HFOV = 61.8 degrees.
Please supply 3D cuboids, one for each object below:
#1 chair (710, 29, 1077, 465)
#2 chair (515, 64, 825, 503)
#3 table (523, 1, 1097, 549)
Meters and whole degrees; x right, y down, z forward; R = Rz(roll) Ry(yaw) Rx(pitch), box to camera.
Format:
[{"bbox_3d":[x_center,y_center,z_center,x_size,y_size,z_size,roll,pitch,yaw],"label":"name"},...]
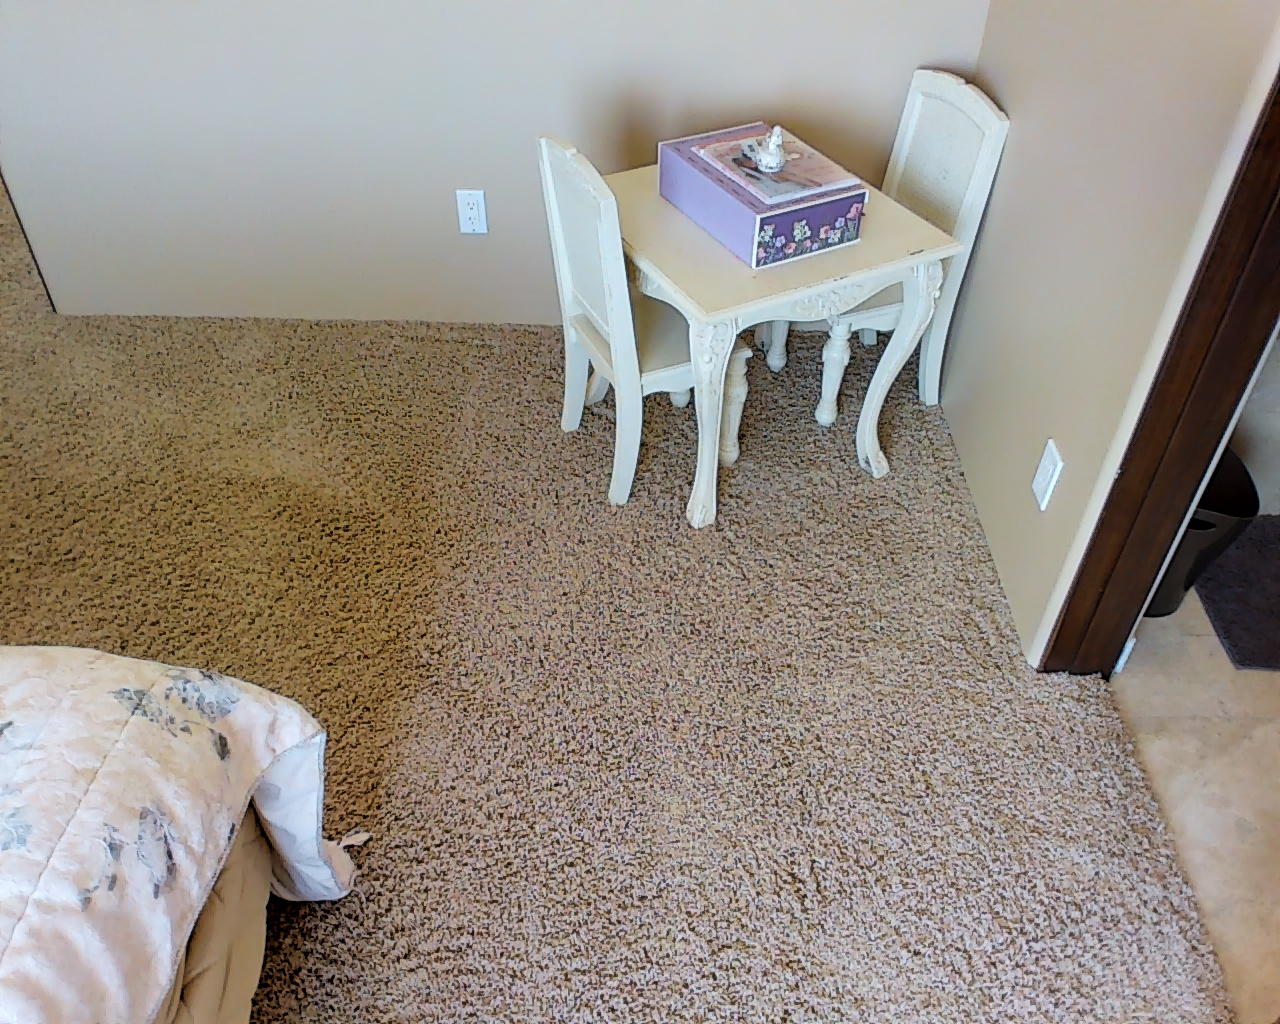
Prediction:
[{"bbox_3d":[0.510,-0.610,2.420,0.410,0.690,0.630,-18,45,-20],"label":"chair"},{"bbox_3d":[0.040,-0.480,2.260,0.440,0.710,0.460,-15,44,-16],"label":"chair"},{"bbox_3d":[0.300,-0.550,2.320,0.830,0.750,0.740,-19,46,-21],"label":"table"}]
